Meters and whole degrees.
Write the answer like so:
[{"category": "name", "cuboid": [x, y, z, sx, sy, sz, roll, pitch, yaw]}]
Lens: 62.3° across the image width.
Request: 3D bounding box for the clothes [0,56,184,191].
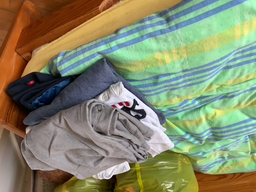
[{"category": "clothes", "cuboid": [-0.070, 0.140, 0.620, 0.320, 0.160, 0.430, -21, 140, 20]}]
